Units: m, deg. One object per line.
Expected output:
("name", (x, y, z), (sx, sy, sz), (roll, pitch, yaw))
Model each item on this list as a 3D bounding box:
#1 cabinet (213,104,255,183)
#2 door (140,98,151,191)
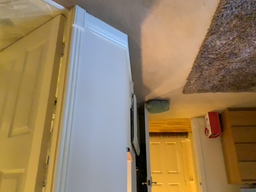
("cabinet", (1.790, 0.680, 2.990), (0.850, 1.010, 0.510), (-2, 158, 4))
("door", (0.250, 1.150, 2.810), (0.090, 2.060, 0.910), (-2, 158, 4))
